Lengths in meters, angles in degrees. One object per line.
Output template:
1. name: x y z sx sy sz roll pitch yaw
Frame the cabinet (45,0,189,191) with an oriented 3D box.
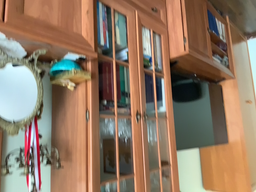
1. cabinet: -0.040 -0.080 1.370 0.420 1.970 0.780 -10 167 42

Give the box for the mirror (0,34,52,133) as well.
1. mirror: -0.450 -0.030 0.830 0.220 0.340 0.180 8 167 -44
